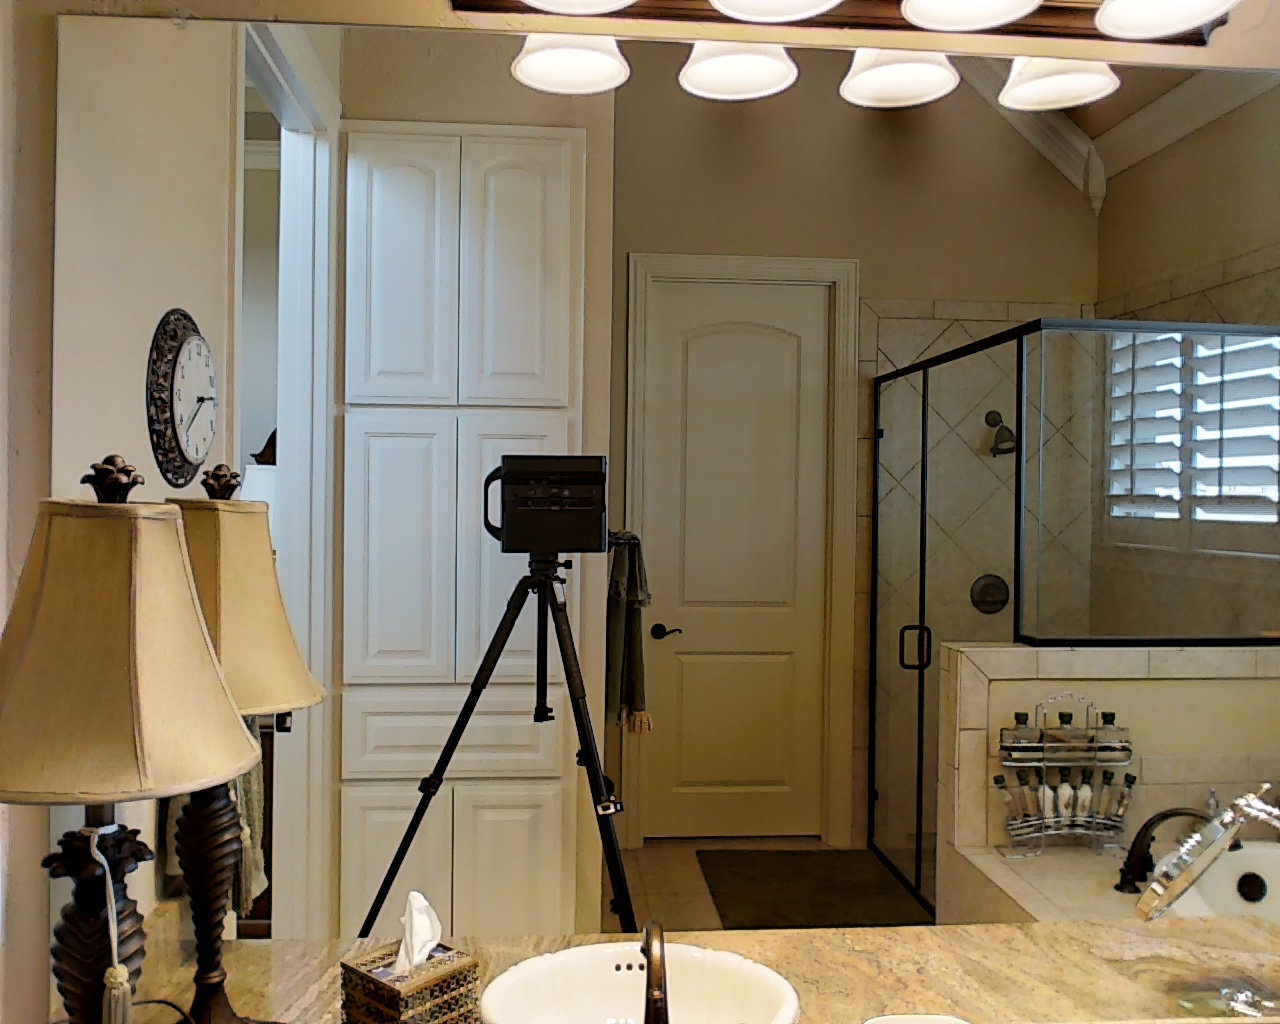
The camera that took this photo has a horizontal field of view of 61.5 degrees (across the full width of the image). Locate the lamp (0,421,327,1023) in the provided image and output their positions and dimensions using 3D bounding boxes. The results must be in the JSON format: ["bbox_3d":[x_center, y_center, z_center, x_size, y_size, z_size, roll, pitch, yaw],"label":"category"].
[{"bbox_3d":[-0.470,0.280,0.990,0.280,0.700,0.300,1,0,-5],"label":"lamp"}]
